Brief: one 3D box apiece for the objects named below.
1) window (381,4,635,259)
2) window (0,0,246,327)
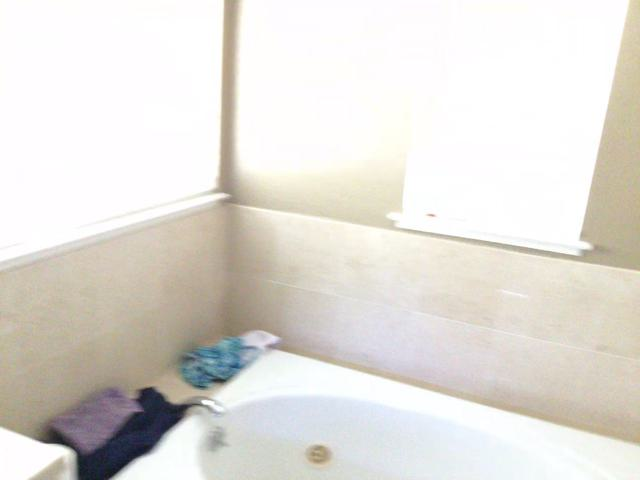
[{"bbox_3d":[0.590,-0.370,1.940,0.690,0.770,0.090,9,14,18],"label":"window"},{"bbox_3d":[-0.680,-0.360,1.730,0.280,0.930,1.360,9,14,18],"label":"window"}]
